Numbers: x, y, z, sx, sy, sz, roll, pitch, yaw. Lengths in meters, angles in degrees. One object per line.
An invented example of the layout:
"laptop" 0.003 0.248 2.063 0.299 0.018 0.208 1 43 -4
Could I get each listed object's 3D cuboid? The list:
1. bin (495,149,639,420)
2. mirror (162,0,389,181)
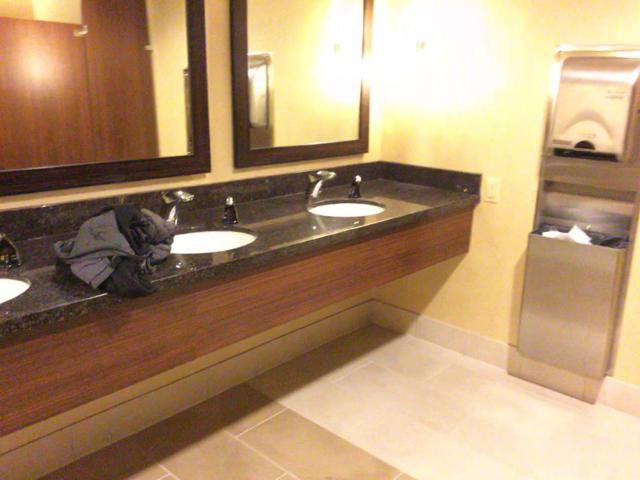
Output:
"bin" 1.060 0.160 2.460 0.430 1.050 0.250 14 16 43
"mirror" -0.140 -0.700 2.520 0.150 0.820 1.140 14 16 43
